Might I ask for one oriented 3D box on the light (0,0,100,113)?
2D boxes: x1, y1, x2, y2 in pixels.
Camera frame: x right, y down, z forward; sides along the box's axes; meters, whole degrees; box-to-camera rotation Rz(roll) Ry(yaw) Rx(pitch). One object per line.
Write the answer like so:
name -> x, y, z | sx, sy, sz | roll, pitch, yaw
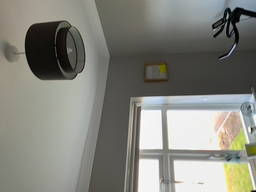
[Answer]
light -> -0.450, -0.240, 1.040 | 0.410, 0.410, 0.400 | 32, -43, -33
